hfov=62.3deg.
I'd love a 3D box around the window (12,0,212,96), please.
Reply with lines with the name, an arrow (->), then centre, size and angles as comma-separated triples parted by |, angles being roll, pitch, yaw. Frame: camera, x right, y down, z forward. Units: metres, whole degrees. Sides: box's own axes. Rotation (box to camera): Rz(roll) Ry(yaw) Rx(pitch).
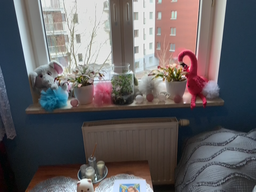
window -> -0.110, -0.740, 1.640 | 1.450, 1.460, 0.220 | -2, 21, -1
